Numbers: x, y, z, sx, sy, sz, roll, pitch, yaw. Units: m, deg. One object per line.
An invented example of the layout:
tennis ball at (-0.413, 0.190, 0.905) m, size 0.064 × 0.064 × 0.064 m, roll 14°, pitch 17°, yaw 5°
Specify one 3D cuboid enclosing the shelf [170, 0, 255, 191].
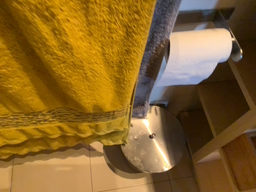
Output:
shelf at (0.350, 0.110, 0.590) m, size 0.200 × 0.780 × 0.380 m, roll -6°, pitch 62°, yaw -7°
